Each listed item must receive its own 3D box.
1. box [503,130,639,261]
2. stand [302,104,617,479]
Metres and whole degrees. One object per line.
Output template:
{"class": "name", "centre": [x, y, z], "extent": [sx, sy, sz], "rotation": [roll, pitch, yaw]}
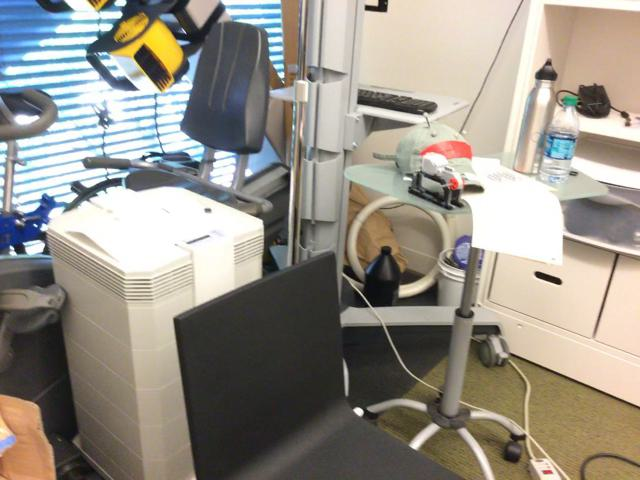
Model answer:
{"class": "box", "centre": [0.910, -0.170, 1.900], "extent": [0.440, 0.270, 0.400], "rotation": [18, 27, 35]}
{"class": "stand", "centre": [0.320, 0.200, 1.500], "extent": [0.530, 0.980, 0.500], "rotation": [18, 27, 35]}
